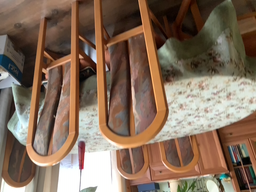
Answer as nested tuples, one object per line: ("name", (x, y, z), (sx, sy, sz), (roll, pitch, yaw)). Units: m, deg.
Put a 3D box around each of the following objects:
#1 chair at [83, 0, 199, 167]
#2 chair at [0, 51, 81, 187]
("chair", (0.050, -0.170, 1.240), (0.400, 1.030, 0.470), (-17, 151, 21))
("chair", (-0.770, 0.220, 1.880), (0.520, 1.020, 0.450), (-16, 152, 20))
